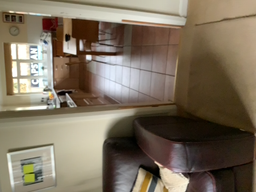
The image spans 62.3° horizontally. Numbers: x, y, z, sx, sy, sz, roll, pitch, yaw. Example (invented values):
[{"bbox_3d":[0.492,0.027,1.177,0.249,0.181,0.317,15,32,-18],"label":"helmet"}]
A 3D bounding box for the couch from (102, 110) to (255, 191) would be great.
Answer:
[{"bbox_3d":[0.330,0.750,1.740,0.950,0.820,1.100,-169,77,-65],"label":"couch"}]

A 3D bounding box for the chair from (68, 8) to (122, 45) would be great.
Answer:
[{"bbox_3d":[-0.570,-1.150,3.610,0.510,0.780,0.470,-160,69,-64],"label":"chair"}]
